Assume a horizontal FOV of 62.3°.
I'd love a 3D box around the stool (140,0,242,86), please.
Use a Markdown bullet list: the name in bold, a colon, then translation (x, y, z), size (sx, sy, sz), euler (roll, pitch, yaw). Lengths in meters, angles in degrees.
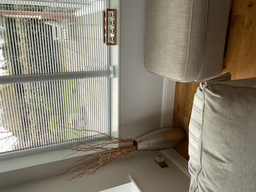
- **stool**: translation (0.450, -0.510, 1.710), size (0.630, 0.450, 0.710), euler (-151, 58, -61)
